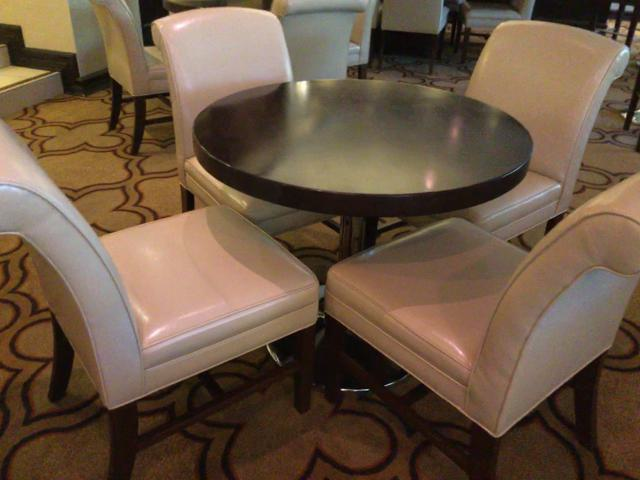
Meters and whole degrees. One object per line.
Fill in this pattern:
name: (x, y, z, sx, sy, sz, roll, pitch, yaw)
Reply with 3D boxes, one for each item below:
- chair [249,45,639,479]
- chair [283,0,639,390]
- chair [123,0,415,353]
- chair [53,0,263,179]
chair: (0.370, 0.120, 1.400, 0.600, 0.900, 0.890, -27, 41, -36)
chair: (0.500, -0.260, 2.030, 0.890, 0.920, 0.850, 28, 41, 37)
chair: (-0.200, -0.290, 2.060, 0.590, 0.920, 0.820, -19, 37, -28)
chair: (-0.900, -1.020, 3.220, 0.810, 0.940, 0.840, -19, 37, -28)
